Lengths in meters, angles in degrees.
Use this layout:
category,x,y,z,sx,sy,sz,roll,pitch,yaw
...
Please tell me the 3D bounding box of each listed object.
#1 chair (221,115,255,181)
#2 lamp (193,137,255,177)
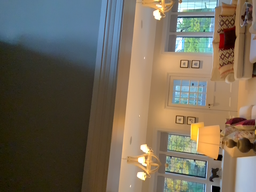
category,x,y,z,sx,sy,sz,roll,pitch,yaw
chair,2.130,0.830,3.520,0.780,0.890,0.920,13,-98,-77
lamp,1.410,0.870,3.090,0.470,0.820,0.330,-10,-76,-76
